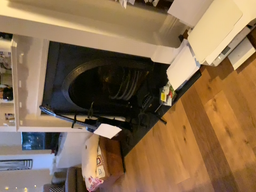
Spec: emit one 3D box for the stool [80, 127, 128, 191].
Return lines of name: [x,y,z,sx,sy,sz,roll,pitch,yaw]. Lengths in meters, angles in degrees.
stool: [-0.360,0.860,2.870,0.710,0.390,0.610,124,142,-48]

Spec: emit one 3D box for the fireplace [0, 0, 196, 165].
fireplace: [-0.410,-0.010,2.050,1.510,1.240,0.740,122,144,-46]
